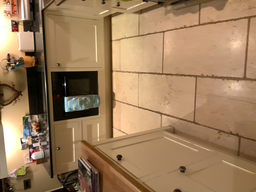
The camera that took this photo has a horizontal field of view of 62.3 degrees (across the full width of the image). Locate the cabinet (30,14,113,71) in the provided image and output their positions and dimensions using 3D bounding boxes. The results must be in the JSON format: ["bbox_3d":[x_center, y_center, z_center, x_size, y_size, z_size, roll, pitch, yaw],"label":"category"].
[{"bbox_3d":[-0.760,-0.670,2.870,0.660,0.890,0.610,14,106,55],"label":"cabinet"}]
